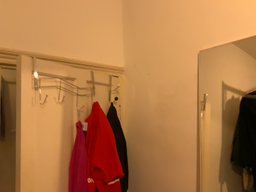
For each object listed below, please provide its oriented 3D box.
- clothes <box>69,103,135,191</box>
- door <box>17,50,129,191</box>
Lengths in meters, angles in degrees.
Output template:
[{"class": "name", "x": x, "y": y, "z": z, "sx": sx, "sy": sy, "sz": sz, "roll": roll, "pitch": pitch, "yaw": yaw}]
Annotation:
[{"class": "clothes", "x": -0.110, "y": 0.560, "z": 1.070, "sx": 0.170, "sy": 1.030, "sz": 0.340, "roll": -4, "pitch": -5, "yaw": 26}, {"class": "door", "x": -0.200, "y": 0.800, "z": 1.080, "sx": 0.060, "sy": 1.920, "sz": 0.740, "roll": -4, "pitch": -5, "yaw": 30}]
